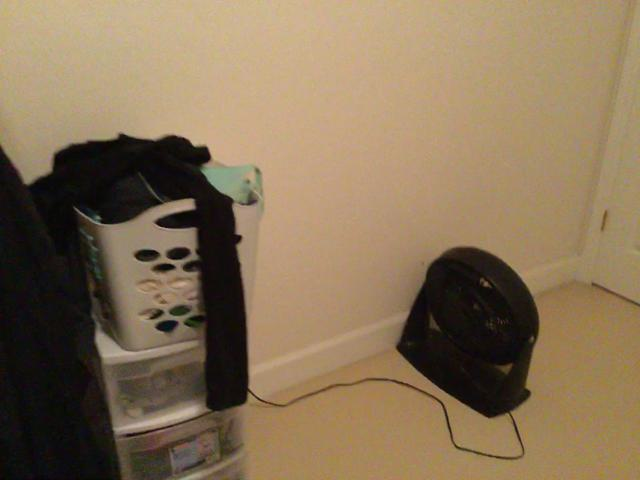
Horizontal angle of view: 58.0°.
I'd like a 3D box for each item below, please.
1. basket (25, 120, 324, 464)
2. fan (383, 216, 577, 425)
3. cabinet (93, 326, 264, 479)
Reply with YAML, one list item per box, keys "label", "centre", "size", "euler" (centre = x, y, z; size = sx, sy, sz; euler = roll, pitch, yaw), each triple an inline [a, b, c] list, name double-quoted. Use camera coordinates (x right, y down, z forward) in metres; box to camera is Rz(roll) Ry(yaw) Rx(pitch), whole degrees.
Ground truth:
- label: "basket"
  centre: [-0.320, 0.060, 1.290]
  size: [0.480, 0.540, 0.440]
  euler: [-12, 26, -30]
- label: "fan"
  centre: [0.530, 0.250, 2.030]
  size: [0.340, 0.490, 0.500]
  euler: [-12, 26, -30]
- label: "cabinet"
  centre: [-0.340, 0.520, 1.460]
  size: [0.350, 0.500, 0.180]
  euler: [-12, 26, -30]
